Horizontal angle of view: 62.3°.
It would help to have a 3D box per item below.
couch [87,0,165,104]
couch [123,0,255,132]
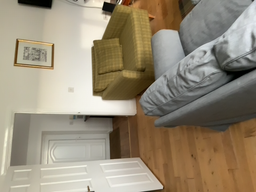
[{"bbox_3d":[-0.120,-0.610,3.290,1.060,0.770,1.170,138,131,-59],"label":"couch"},{"bbox_3d":[0.660,-0.390,1.340,1.540,0.810,0.930,138,131,-59],"label":"couch"}]
